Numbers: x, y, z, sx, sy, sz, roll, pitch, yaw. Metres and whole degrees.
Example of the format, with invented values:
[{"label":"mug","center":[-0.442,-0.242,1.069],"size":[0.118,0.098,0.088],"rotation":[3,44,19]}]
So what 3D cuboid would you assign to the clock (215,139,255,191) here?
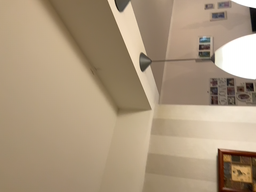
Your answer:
[{"label":"clock","center":[0.670,0.430,1.250],"size":[0.280,0.320,0.080],"rotation":[1,144,20]}]

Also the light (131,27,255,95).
[{"label":"light","center":[0.380,-0.190,1.250],"size":[0.640,0.240,0.270],"rotation":[1,142,20]}]
